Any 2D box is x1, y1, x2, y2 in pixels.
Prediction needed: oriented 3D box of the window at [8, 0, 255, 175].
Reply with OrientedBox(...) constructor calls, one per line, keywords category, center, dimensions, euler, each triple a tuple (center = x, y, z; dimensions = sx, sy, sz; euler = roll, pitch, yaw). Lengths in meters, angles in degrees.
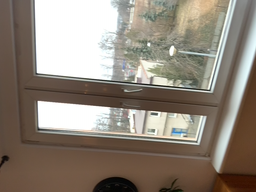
OrientedBox(category="window", center=(0.080, -0.340, 1.440), dimensions=(0.270, 1.580, 1.770), euler=(-100, 16, -71))
